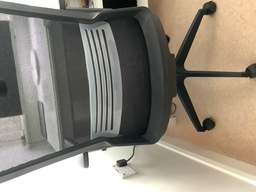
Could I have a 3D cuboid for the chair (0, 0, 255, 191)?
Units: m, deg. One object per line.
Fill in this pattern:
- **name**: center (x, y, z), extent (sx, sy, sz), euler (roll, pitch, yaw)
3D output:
- **chair**: center (-0.140, -0.060, 0.880), extent (0.740, 1.150, 0.630), euler (3, 100, 59)
